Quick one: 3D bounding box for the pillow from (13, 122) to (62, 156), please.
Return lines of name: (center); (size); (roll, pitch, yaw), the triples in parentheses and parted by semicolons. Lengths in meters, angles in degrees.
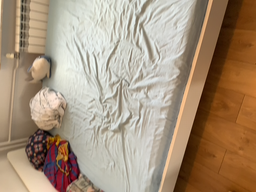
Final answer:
pillow: (-0.930, 0.440, 2.220); (0.360, 0.320, 0.190); (-80, -13, -71)
